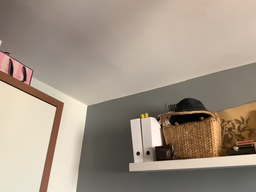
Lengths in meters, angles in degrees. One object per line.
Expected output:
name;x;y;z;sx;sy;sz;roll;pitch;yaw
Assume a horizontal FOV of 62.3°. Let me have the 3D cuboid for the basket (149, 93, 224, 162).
basket;0.380;0.230;1.410;0.390;0.340;0.290;-13;-30;27
